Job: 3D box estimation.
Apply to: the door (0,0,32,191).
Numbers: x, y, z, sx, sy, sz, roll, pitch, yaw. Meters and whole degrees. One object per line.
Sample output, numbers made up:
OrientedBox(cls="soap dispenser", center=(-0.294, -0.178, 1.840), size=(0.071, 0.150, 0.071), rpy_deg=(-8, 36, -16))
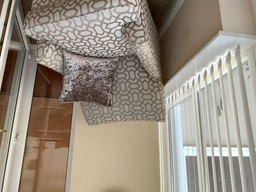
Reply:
OrientedBox(cls="door", center=(-0.980, 0.250, 1.610), size=(0.080, 2.080, 0.890), rpy_deg=(6, 163, -16))

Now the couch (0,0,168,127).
OrientedBox(cls="couch", center=(-0.190, -0.290, 1.560), size=(0.790, 0.890, 0.880), rpy_deg=(-5, 162, 18))
